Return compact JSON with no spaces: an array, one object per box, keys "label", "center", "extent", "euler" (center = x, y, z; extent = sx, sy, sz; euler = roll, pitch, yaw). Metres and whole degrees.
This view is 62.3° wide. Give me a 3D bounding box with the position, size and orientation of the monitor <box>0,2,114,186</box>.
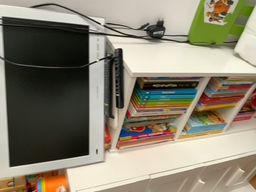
[{"label":"monitor","center":[-0.240,0.000,0.730],"extent":[0.030,0.390,0.560],"euler":[18,108,62]}]
